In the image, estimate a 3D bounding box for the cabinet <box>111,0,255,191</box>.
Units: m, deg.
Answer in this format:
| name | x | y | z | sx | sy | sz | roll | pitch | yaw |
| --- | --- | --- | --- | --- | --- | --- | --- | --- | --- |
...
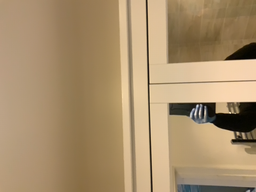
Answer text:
| name | x | y | z | sx | sy | sz | roll | pitch | yaw |
| --- | --- | --- | --- | --- | --- | --- | --- | --- | --- |
| cabinet | 0.470 | -0.020 | 0.570 | 0.160 | 1.010 | 0.840 | -16 | -75 | -79 |
